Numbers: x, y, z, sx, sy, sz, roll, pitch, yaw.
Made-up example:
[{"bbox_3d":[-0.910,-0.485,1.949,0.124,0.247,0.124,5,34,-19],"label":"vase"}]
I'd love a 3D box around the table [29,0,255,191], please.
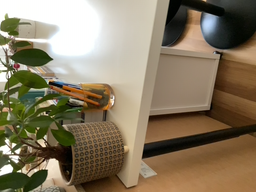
[{"bbox_3d":[0.030,-0.330,1.340,1.530,0.930,0.780,29,115,52],"label":"table"}]

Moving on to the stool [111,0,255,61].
[{"bbox_3d":[0.340,-0.470,1.110,0.430,0.670,0.430,33,118,50],"label":"stool"}]
